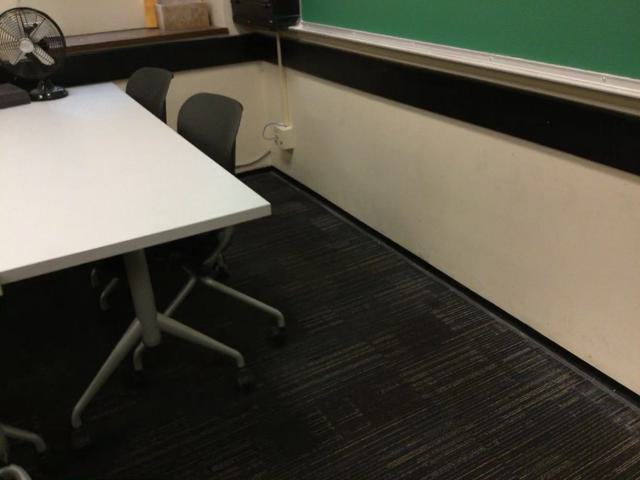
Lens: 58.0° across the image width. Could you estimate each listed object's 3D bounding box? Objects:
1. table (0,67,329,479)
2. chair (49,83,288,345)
[{"bbox_3d":[-1.050,-0.010,2.070,1.310,0.820,1.920,-12,30,-29],"label":"table"},{"bbox_3d":[-0.530,-0.150,2.060,0.590,0.680,0.620,-14,28,-30],"label":"chair"}]
